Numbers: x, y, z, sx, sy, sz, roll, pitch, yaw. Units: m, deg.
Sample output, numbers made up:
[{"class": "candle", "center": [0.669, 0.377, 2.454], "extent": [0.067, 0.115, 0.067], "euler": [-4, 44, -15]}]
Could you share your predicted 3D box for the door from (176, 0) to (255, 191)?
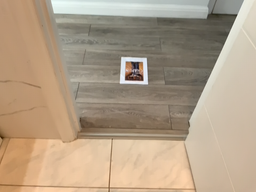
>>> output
[{"class": "door", "center": [0.380, -0.130, 0.400], "extent": [0.040, 1.970, 0.830], "euler": [2, 50, -1]}]
